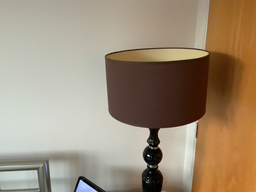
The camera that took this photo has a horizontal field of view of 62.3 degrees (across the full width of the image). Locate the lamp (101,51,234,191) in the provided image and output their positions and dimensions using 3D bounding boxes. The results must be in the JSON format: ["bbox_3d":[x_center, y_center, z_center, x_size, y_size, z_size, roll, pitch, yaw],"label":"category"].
[{"bbox_3d":[0.090,0.210,0.730,0.350,0.700,0.210,0,14,-6],"label":"lamp"}]
